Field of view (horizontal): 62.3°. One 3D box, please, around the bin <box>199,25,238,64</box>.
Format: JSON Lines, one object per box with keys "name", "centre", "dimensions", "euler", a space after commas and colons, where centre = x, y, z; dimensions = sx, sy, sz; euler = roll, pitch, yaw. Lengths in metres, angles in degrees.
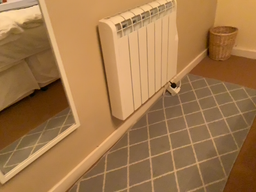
{"name": "bin", "centre": [0.960, -0.560, 2.270], "dimensions": [0.270, 0.300, 0.260], "euler": [22, 43, 34]}
